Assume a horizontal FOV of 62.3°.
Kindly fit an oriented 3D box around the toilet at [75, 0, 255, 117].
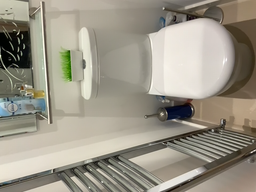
[{"bbox_3d":[0.240,-0.180,1.120,0.630,0.810,0.370,8,102,54],"label":"toilet"}]
